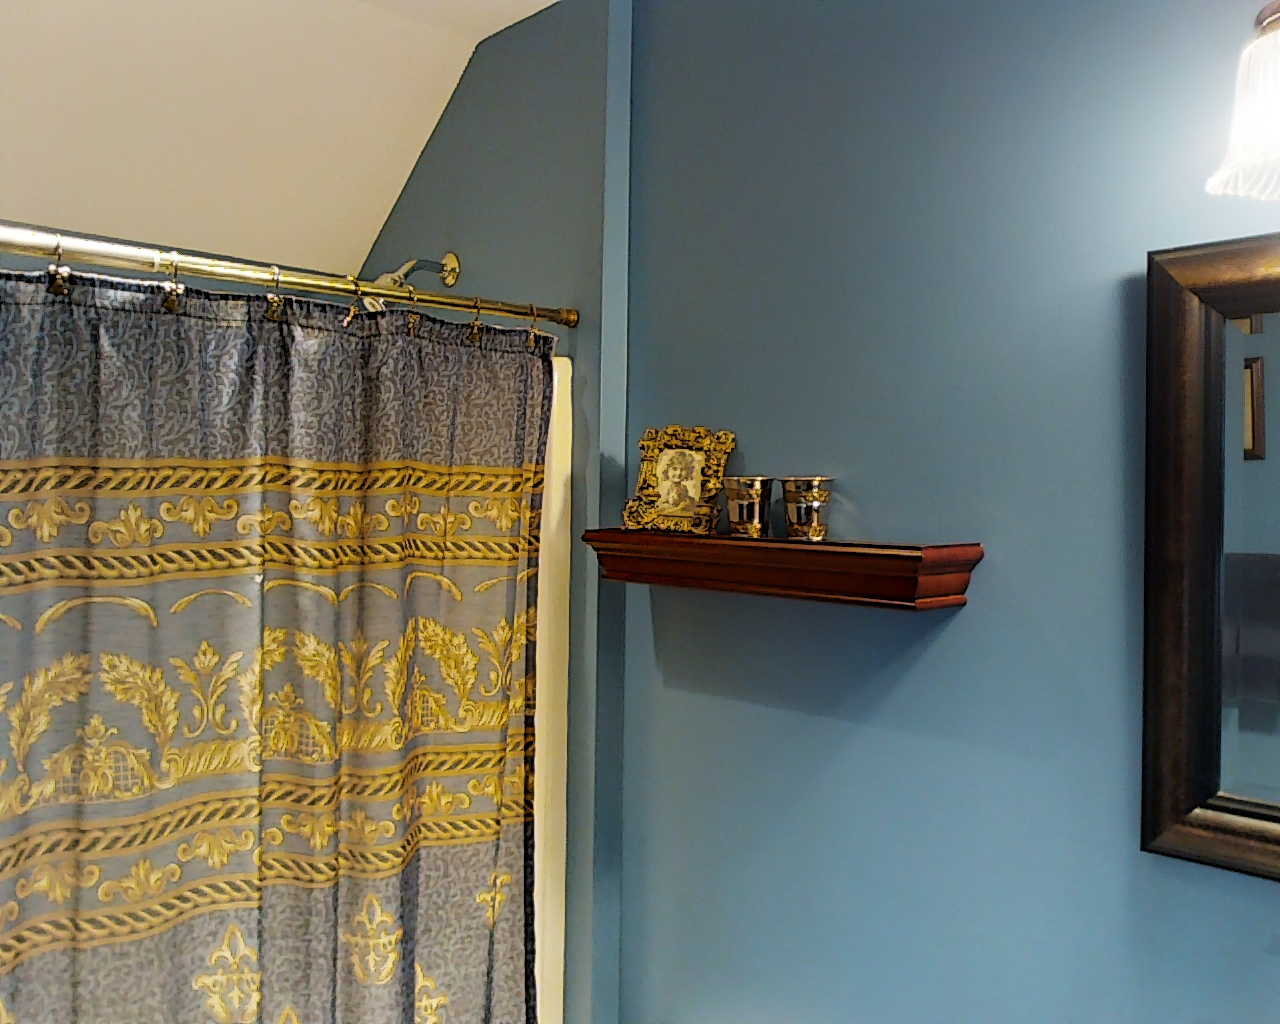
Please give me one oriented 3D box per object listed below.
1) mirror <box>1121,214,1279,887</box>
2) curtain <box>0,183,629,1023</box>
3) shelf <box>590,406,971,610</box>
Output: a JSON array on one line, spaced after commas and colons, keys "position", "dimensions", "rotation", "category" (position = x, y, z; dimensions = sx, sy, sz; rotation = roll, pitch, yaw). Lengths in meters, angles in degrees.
[{"position": [0.740, 0.040, 0.980], "dimensions": [0.060, 0.660, 0.560], "rotation": [0, 1, -43], "category": "mirror"}, {"position": [-0.610, 0.600, 1.290], "dimensions": [1.460, 1.880, 0.150], "rotation": [0, 1, -44], "category": "curtain"}, {"position": [0.170, -0.010, 1.520], "dimensions": [0.140, 0.240, 0.570], "rotation": [0, 1, -43], "category": "shelf"}]
